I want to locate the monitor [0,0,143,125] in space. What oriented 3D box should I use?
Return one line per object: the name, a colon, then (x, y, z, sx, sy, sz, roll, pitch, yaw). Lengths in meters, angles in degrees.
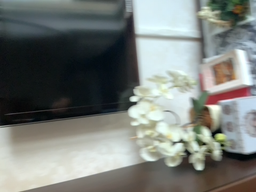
monitor: (-0.260, -0.420, 0.920, 0.060, 0.590, 1.010, 170, 94, -65)
